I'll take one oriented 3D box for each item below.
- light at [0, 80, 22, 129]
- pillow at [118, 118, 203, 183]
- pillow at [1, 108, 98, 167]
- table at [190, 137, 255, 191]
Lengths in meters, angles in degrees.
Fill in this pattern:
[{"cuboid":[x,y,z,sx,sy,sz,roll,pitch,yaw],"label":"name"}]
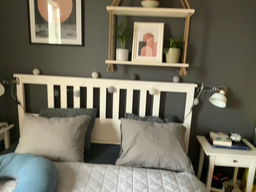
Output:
[{"cuboid":[-1.170,0.080,2.070,0.150,0.450,0.160,4,13,2],"label":"light"},{"cuboid":[0.230,0.410,1.690,0.570,0.310,0.410,4,13,2],"label":"pillow"},{"cuboid":[-0.570,0.340,1.680,0.570,0.440,0.240,5,55,6],"label":"pillow"},{"cuboid":[0.880,0.800,1.970,0.480,0.720,0.330,4,13,3],"label":"table"}]
